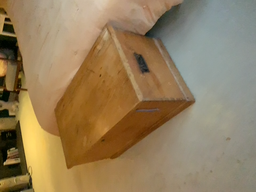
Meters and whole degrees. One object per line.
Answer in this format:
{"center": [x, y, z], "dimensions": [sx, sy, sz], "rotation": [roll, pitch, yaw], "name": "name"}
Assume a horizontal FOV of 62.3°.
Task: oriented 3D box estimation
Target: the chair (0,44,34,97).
{"center": [-2.240, -0.450, 3.920], "dimensions": [0.670, 0.680, 0.690], "rotation": [-46, 57, 40], "name": "chair"}
